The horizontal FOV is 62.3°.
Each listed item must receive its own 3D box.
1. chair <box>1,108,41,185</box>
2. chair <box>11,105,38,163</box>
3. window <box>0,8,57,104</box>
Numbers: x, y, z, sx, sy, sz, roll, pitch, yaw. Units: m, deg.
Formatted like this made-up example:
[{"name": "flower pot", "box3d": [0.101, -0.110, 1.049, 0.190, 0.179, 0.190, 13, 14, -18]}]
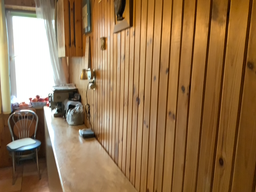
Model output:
[{"name": "chair", "box3d": [-1.380, 0.630, 2.800, 0.400, 0.830, 0.470, -2, 10, -22]}, {"name": "chair", "box3d": [-1.530, 0.560, 3.160, 0.330, 0.830, 0.140, -2, 10, -22]}, {"name": "window", "box3d": [-1.490, -0.570, 3.240, 0.720, 1.340, 0.170, -2, 10, -25]}]
